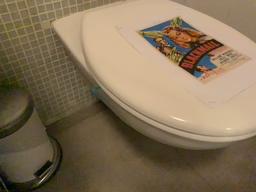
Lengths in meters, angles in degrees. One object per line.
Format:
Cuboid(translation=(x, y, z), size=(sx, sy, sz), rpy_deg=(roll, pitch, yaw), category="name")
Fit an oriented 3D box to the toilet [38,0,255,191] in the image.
Cuboid(translation=(0.080, 0.000, 0.620), size=(0.380, 0.430, 0.550), rpy_deg=(-26, 52, -25), category="toilet")
